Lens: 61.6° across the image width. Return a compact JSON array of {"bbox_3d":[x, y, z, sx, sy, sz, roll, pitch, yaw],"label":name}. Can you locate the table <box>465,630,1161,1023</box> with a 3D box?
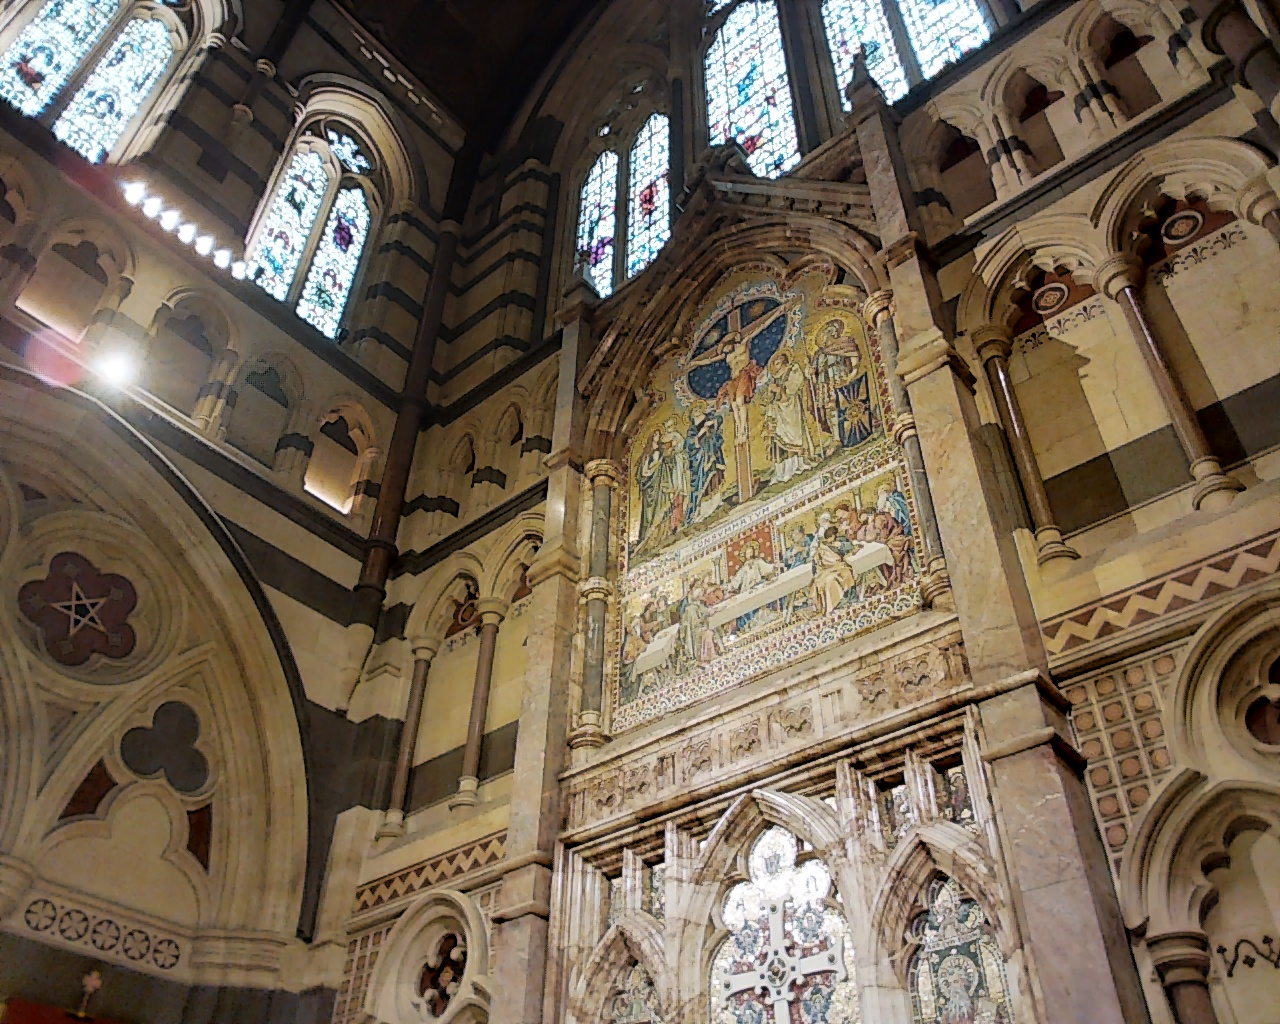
[{"bbox_3d":[0.670,3.653,6.170,4.589,4.862,0.710,-29,-52,30],"label":"table"}]
